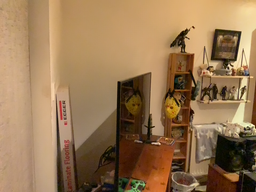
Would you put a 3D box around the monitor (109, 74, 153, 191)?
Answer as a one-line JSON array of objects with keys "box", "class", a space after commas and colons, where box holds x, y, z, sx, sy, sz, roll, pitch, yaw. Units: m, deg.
[{"box": [0.070, 0.200, 1.610, 0.050, 0.660, 1.100, 4, 10, 15], "class": "monitor"}]
